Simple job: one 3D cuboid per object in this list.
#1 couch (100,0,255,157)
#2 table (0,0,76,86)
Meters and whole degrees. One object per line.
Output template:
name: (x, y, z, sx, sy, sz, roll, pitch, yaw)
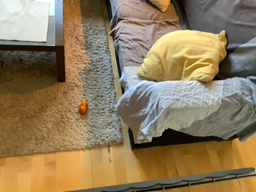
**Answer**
couch: (0.350, -0.570, 1.550, 0.910, 0.840, 1.730, -1, 60, -15)
table: (-0.820, -0.540, 1.480, 0.850, 0.390, 0.860, -1, 60, -16)
